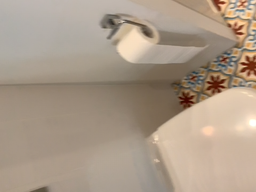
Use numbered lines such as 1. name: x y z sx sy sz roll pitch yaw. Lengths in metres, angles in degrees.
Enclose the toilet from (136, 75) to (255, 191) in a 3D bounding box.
1. toilet: 0.340 0.200 0.850 0.540 0.210 0.340 -34 69 41
